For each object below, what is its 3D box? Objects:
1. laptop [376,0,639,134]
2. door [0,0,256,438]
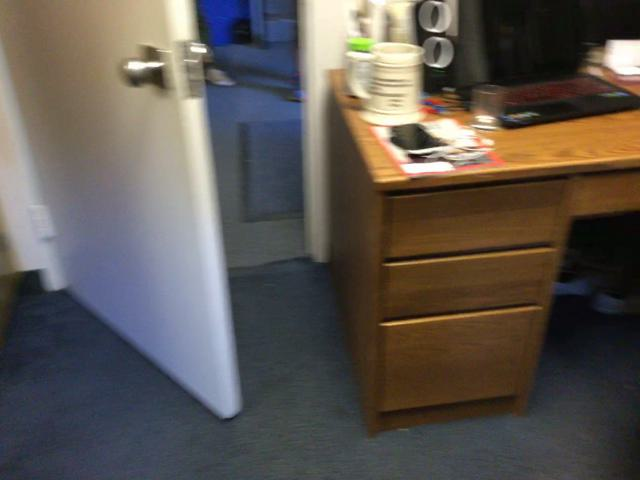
[{"bbox_3d":[0.530,-0.520,1.460,0.670,0.290,0.500,-6,31,-6],"label":"laptop"},{"bbox_3d":[-0.540,-0.540,1.260,0.790,2.090,0.140,26,41,38],"label":"door"}]
